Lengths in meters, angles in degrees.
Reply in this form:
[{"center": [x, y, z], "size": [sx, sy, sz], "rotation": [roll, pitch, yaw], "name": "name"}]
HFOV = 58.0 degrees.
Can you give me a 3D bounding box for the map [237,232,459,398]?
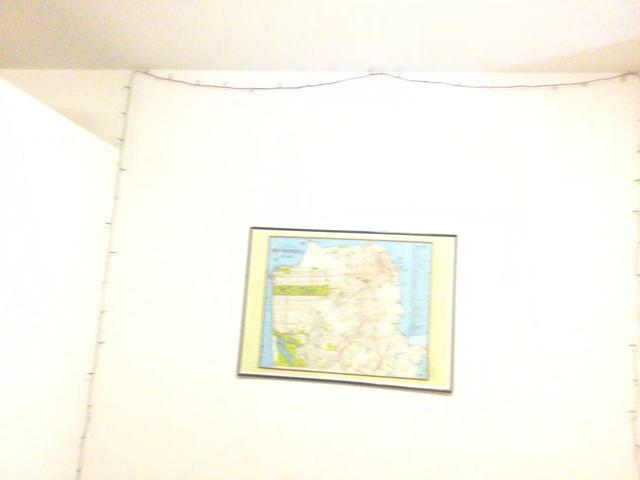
[{"center": [0.090, 0.230, 1.870], "size": [0.680, 0.480, 0.070], "rotation": [3, -9, 11], "name": "map"}]
